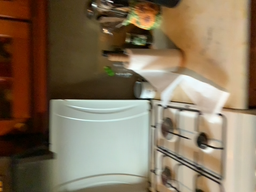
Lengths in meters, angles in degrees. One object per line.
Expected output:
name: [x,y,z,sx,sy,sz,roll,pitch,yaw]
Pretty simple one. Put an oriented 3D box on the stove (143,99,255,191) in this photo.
stove: [0.300,0.290,0.970,0.620,0.200,0.510,-172,82,-67]
